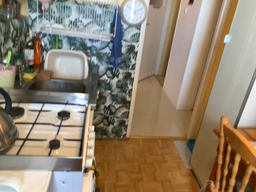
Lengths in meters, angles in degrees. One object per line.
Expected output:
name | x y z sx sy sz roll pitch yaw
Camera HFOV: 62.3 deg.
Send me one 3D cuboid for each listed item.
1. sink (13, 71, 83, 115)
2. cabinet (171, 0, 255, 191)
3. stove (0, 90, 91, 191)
sink | -0.500 -0.030 1.410 0.360 0.150 0.330 4 24 -8
cabinet | 0.840 -0.190 1.680 0.330 2.030 0.860 4 24 -9
stove | -0.470 0.180 0.980 0.550 0.190 0.520 4 24 -8
